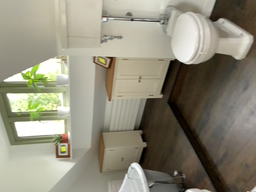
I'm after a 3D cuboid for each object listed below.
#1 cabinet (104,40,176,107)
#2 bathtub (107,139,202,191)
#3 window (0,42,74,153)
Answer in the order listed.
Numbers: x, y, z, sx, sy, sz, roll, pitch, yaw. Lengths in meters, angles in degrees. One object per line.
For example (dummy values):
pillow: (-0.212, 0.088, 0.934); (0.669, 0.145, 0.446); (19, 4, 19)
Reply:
cabinet: (0.110, -0.280, 2.800); (0.420, 0.720, 0.750); (-107, 23, -46)
bathtub: (0.180, 1.450, 2.650); (0.850, 0.720, 1.730); (-108, 23, -48)
window: (-1.260, 0.140, 2.900); (0.200, 0.990, 1.790); (-107, 23, -46)
